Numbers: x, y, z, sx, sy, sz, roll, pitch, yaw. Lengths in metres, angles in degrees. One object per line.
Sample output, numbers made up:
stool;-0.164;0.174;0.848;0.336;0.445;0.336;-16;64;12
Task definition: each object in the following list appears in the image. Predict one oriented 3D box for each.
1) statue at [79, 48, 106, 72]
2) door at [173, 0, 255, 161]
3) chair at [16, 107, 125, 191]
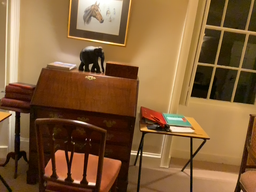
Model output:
statue;-0.370;-0.380;2.240;0.240;0.210;0.200;8;12;0
door;1.260;-0.460;2.600;0.950;2.580;0.110;8;12;0
chair;-0.380;0.570;1.540;0.570;0.790;0.540;8;13;4
